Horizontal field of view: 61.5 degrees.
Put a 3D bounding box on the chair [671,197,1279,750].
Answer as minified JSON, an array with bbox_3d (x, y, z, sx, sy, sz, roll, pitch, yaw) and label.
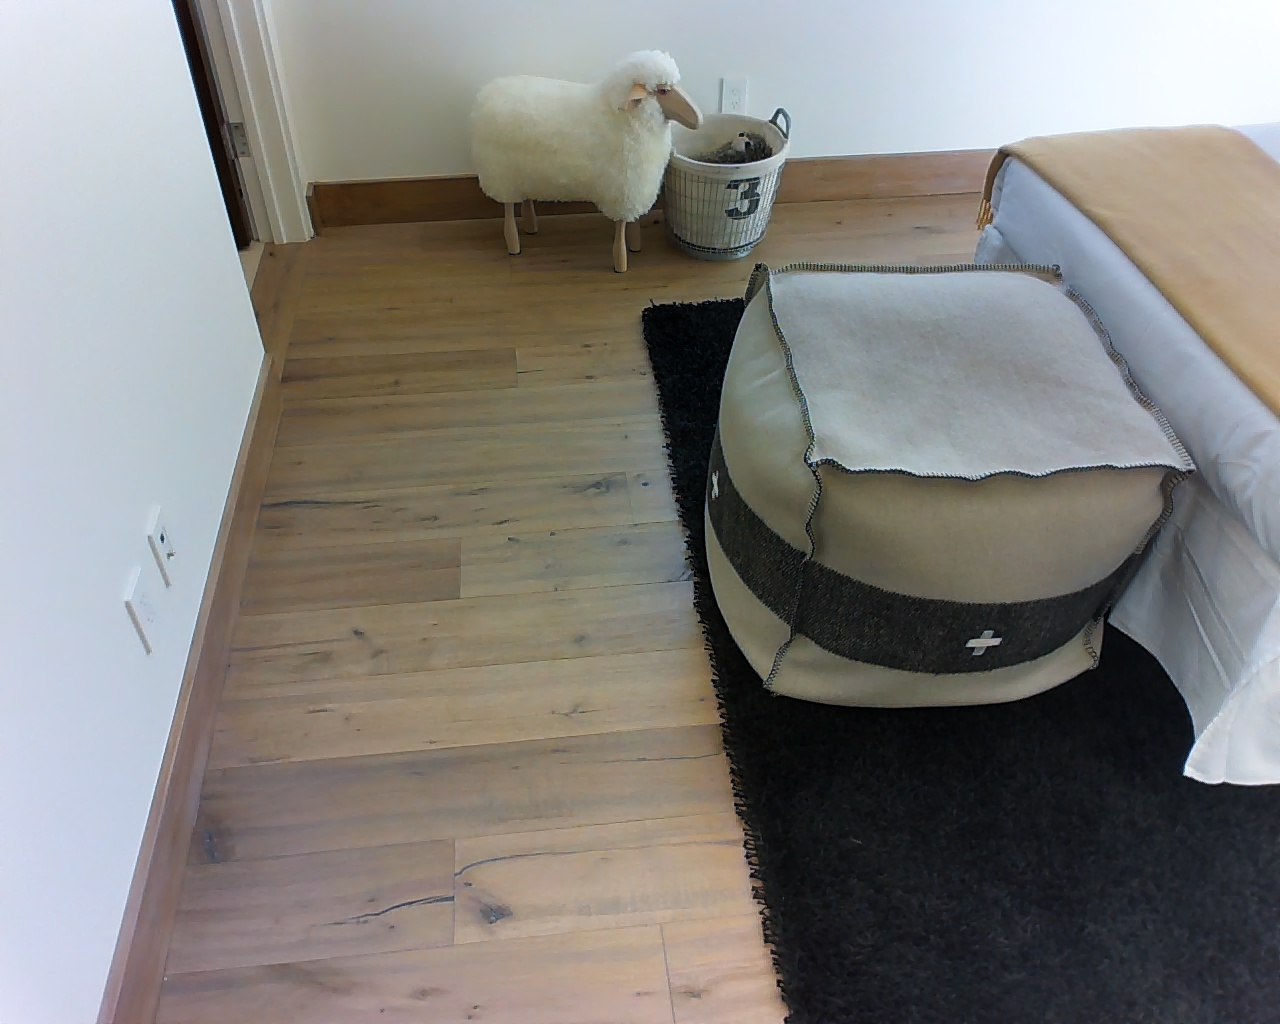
[{"bbox_3d":[0.550,-0.110,2.050,0.870,0.610,0.840,-3,42,-5],"label":"chair"}]

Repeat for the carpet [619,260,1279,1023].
[{"bbox_3d":[0.820,0.100,2.250,1.450,0.030,2.330,-5,42,-6],"label":"carpet"}]
